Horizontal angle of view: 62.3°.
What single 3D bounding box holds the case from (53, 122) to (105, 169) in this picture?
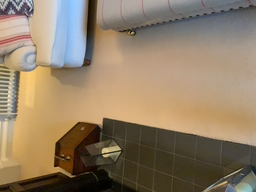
[{"bbox_3d":[-0.450,0.430,1.960,0.330,0.330,0.350,-2,86,42],"label":"case"}]
